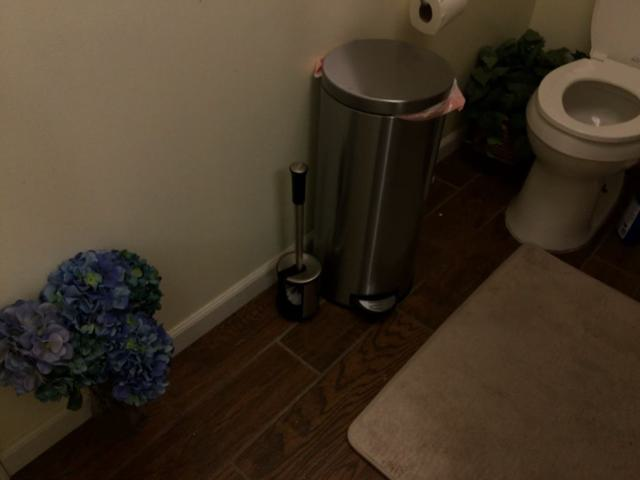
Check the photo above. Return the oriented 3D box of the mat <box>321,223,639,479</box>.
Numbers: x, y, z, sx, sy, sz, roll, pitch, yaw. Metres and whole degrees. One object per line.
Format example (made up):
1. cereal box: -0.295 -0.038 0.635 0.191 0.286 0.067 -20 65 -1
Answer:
1. mat: 0.560 0.340 1.420 0.610 0.050 0.980 33 51 30

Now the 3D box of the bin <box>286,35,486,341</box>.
1. bin: 0.140 -0.120 1.470 0.310 0.640 0.310 33 51 30

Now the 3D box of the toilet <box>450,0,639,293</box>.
1. toilet: 0.870 -0.470 1.680 0.490 0.870 0.760 33 51 30
